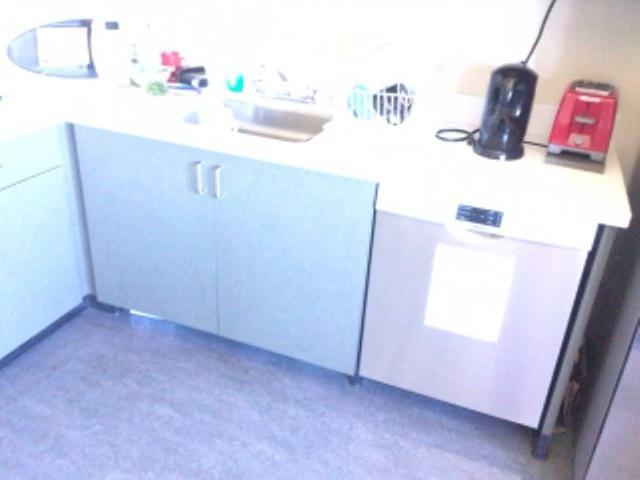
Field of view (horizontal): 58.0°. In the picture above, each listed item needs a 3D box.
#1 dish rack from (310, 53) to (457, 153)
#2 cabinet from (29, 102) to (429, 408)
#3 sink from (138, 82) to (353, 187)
[{"bbox_3d":[0.220,-0.470,1.920,0.400,0.220,0.370,10,26,14],"label":"dish rack"},{"bbox_3d":[-0.300,-0.020,2.250,1.260,0.770,0.680,10,26,14],"label":"cabinet"},{"bbox_3d":[-0.240,-0.410,2.110,0.590,0.180,0.560,10,26,14],"label":"sink"}]
